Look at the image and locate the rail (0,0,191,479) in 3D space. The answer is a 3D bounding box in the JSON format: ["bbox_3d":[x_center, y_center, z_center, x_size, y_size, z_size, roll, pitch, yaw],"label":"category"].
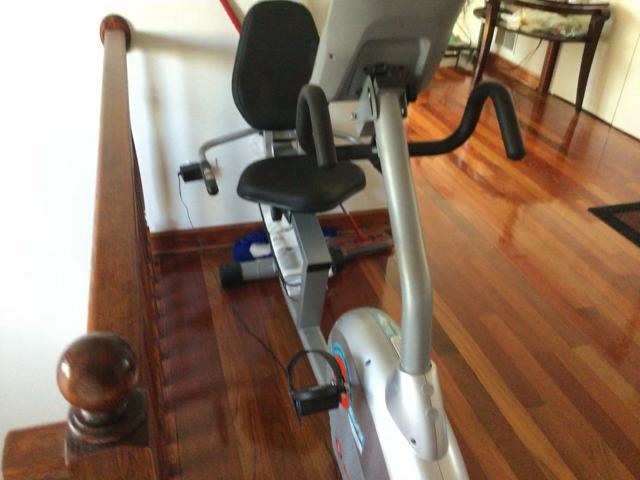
[{"bbox_3d":[-0.460,0.090,1.410,0.170,1.060,1.770,-6,35,-13],"label":"rail"}]

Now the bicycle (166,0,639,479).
[{"bbox_3d":[0.070,-0.080,1.450,0.770,1.230,1.740,-6,35,-13],"label":"bicycle"}]
